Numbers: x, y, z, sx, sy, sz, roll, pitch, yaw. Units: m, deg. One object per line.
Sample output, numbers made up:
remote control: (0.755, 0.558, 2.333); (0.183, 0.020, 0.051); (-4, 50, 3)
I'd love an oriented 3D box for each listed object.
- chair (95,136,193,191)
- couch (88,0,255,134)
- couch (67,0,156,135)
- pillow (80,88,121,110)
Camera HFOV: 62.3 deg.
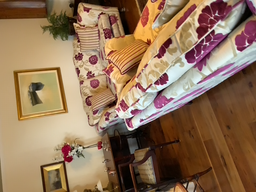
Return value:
chair: (0.170, 0.900, 2.620); (0.530, 0.980, 0.520); (130, 128, -64)
couch: (0.370, -0.500, 1.630); (1.860, 0.920, 1.100); (131, 127, -64)
couch: (-0.410, -0.510, 3.700); (1.020, 0.900, 2.030); (126, 132, -62)
pillow: (-0.430, 0.050, 3.300); (0.470, 0.390, 0.200); (23, 103, 42)
